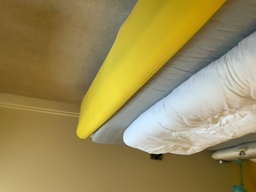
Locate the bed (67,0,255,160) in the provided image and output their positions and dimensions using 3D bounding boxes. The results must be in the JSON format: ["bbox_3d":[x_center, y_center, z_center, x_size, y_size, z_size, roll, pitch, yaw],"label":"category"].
[{"bbox_3d":[0.890,-0.050,1.430,2.190,0.530,1.750,11,151,-22],"label":"bed"}]
